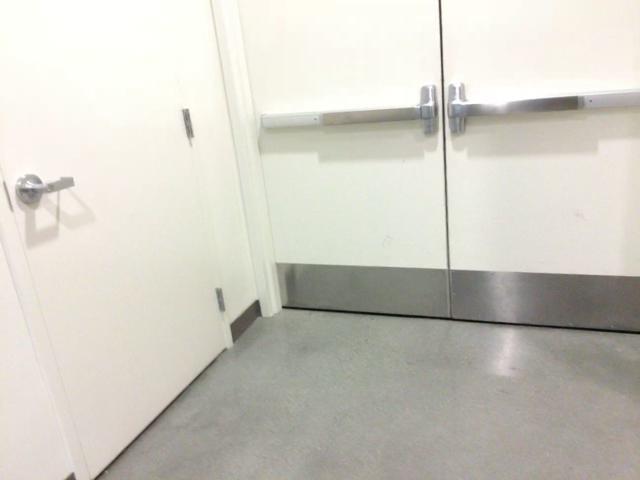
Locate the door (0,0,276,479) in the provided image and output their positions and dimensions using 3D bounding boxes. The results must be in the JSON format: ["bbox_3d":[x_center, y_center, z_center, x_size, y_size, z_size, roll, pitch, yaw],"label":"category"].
[{"bbox_3d":[-0.610,-0.140,2.200,0.110,1.600,1.200,2,22,25],"label":"door"}]

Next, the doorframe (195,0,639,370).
[{"bbox_3d":[0.490,-0.420,2.340,1.910,1.760,0.330,2,22,25],"label":"doorframe"}]

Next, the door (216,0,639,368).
[{"bbox_3d":[0.550,-0.440,2.370,1.830,1.780,0.380,2,22,25],"label":"door"}]
